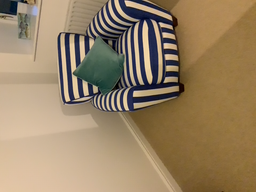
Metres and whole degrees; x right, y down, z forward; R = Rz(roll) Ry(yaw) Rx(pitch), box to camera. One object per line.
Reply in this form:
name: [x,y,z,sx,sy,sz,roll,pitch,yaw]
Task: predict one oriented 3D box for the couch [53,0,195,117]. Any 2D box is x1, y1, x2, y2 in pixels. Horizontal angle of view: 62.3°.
couch: [-0.090,-0.310,1.950,0.950,0.830,0.910,-10,84,53]
